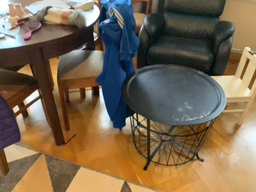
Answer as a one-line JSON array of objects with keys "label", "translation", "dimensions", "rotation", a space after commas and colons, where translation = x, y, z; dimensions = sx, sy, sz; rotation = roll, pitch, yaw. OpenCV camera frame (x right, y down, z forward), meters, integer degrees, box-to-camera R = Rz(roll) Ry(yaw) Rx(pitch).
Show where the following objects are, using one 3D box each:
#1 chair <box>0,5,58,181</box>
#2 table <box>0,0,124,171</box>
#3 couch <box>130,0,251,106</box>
[{"label": "chair", "translation": [-0.820, -0.020, 1.250], "dimensions": [0.430, 0.870, 0.500], "rotation": [12, 39, 14]}, {"label": "table", "translation": [-0.650, -0.210, 1.580], "dimensions": [0.960, 0.770, 0.950], "rotation": [14, 40, 16]}, {"label": "couch", "translation": [0.550, -0.640, 2.000], "dimensions": [0.780, 0.960, 0.910], "rotation": [13, 39, 15]}]
